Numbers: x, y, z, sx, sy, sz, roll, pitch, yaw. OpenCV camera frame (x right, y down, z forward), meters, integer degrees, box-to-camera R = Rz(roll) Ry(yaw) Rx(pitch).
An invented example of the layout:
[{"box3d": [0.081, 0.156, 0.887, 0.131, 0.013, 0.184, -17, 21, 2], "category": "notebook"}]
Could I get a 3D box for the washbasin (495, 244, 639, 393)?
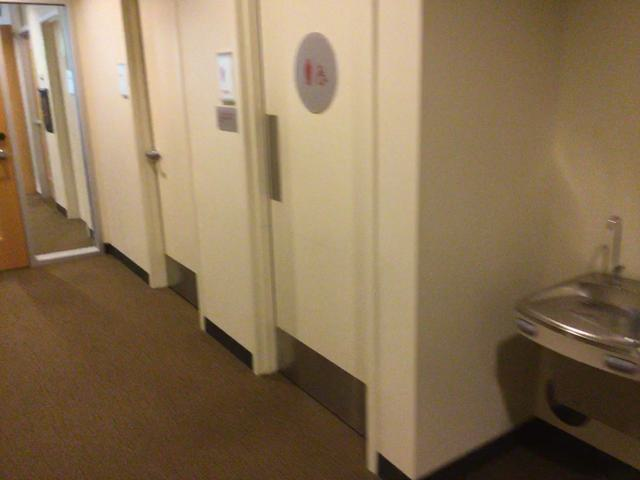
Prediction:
[{"box3d": [0.890, 0.200, 1.750, 0.500, 0.190, 0.460, -10, 20, -32], "category": "washbasin"}]
